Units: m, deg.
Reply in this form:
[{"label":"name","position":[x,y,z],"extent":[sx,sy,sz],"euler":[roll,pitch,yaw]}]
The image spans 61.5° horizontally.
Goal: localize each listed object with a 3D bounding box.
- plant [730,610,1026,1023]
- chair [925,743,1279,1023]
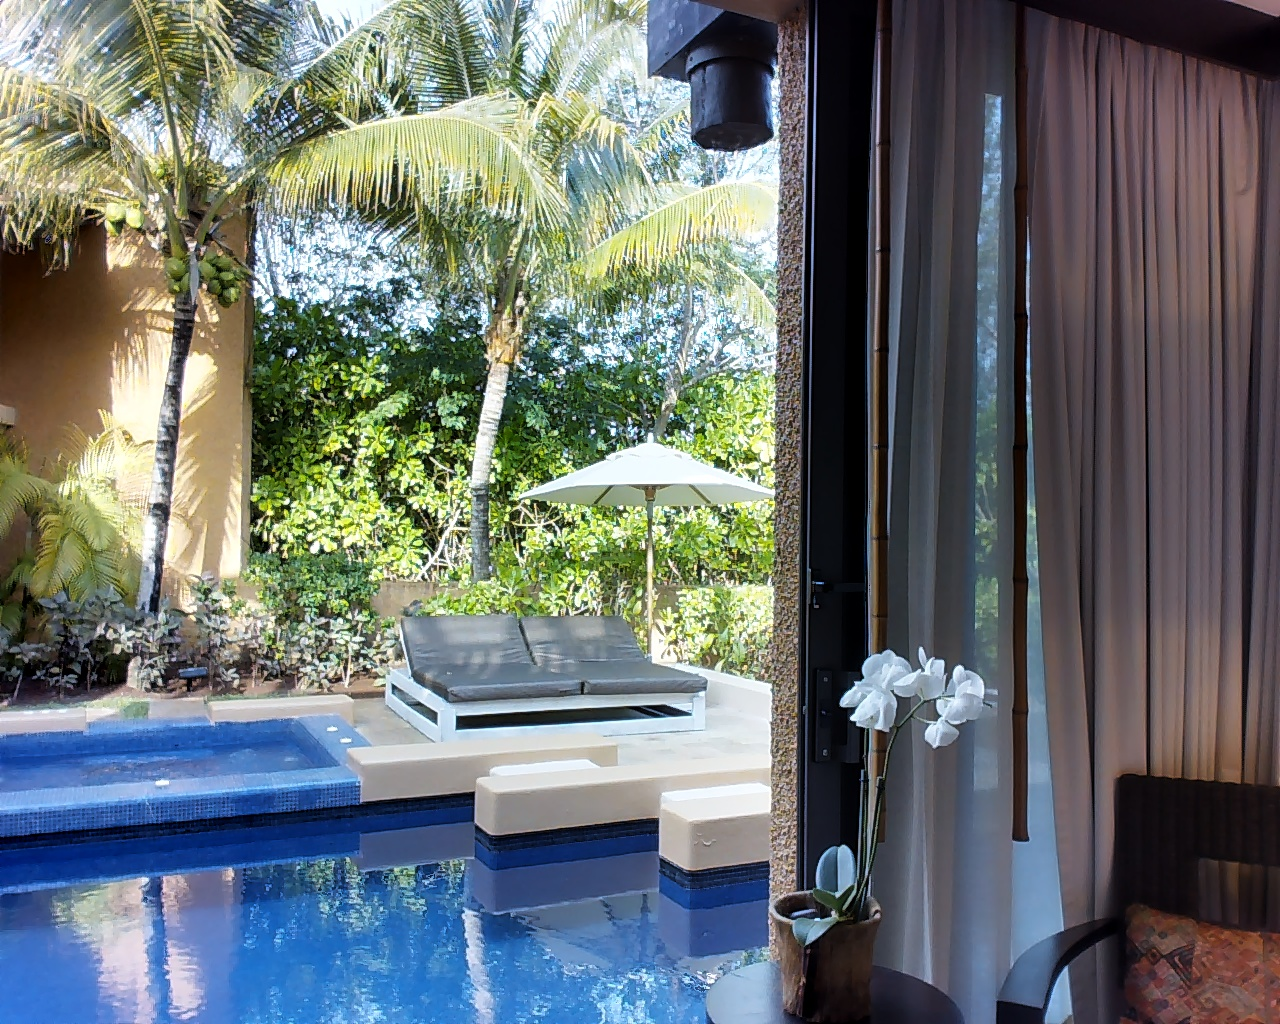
[{"label":"plant","position":[0.390,0.460,1.710],"extent":[0.370,0.570,0.380],"euler":[0,-1,28]},{"label":"chair","position":[1.030,0.970,1.840],"extent":[0.930,0.890,1.000],"euler":[0,-1,22]}]
